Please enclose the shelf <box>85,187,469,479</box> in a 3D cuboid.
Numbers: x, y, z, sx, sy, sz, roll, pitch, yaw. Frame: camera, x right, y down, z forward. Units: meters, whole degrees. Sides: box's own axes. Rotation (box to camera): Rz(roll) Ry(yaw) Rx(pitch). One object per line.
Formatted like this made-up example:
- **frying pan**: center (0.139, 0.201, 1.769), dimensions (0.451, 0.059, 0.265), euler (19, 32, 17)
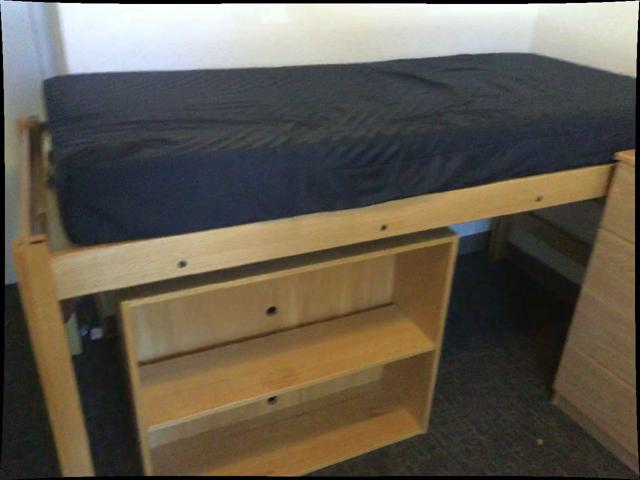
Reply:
- **shelf**: center (-0.110, 0.331, 1.730), dimensions (0.979, 0.791, 0.330), euler (-10, 30, -24)
